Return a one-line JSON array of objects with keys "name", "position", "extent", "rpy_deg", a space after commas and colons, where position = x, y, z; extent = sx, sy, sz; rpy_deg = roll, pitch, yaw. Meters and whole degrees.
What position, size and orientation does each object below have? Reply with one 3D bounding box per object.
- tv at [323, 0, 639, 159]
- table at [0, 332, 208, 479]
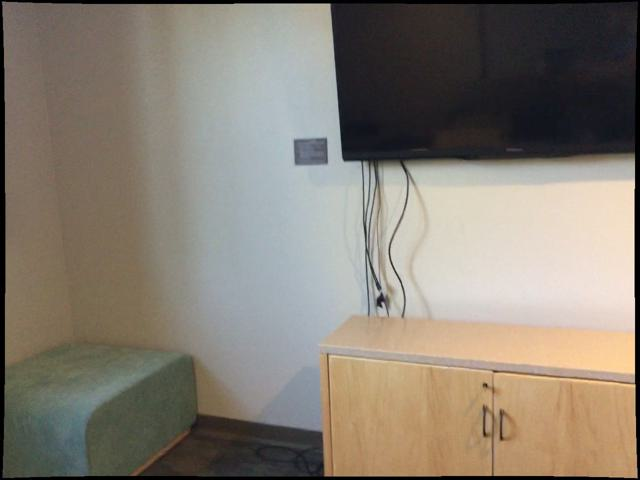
[{"name": "tv", "position": [0.699, -0.721, 2.120], "extent": [1.369, 0.821, 0.230], "rpy_deg": [2, 11, 19]}, {"name": "table", "position": [-1.019, 0.781, 2.630], "extent": [0.699, 0.440, 0.740], "rpy_deg": [2, 11, 19]}]
